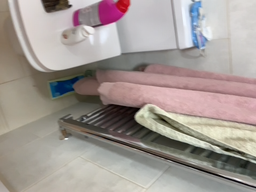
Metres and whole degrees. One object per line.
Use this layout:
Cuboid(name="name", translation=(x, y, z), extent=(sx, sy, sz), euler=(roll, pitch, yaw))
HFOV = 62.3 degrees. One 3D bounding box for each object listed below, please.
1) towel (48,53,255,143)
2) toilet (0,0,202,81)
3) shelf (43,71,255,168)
Cuboid(name="towel", translation=(0.220, -0.040, 0.820), extent=(0.490, 1.390, 0.120), euler=(-24, 107, -40))
Cuboid(name="toilet", translation=(-0.190, -0.340, 0.930), extent=(0.600, 0.770, 0.380), euler=(-25, 112, -42))
Cuboid(name="shelf", translation=(0.190, 0.010, 0.810), extent=(0.440, 1.330, 0.110), euler=(-25, 112, -42))
